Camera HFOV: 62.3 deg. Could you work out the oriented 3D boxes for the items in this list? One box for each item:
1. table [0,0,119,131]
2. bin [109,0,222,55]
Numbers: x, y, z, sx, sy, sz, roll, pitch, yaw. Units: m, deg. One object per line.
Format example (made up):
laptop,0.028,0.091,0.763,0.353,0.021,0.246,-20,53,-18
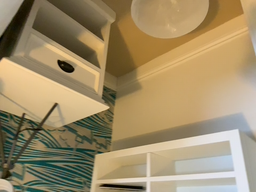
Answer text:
table,-0.400,-0.220,1.080,0.490,0.620,0.450,-21,145,39
bin,0.160,-0.440,0.930,0.330,0.290,0.320,-20,145,38
